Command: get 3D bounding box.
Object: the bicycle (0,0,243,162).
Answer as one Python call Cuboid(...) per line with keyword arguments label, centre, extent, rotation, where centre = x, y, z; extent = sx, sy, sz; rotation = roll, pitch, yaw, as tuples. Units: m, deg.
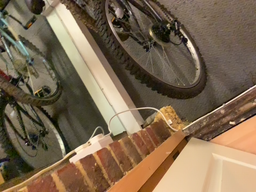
Cuboid(label="bicycle", centre=(-0.260, -0.670, 1.070), extent=(0.550, 0.720, 1.720), rotation=(-38, 77, 21))
